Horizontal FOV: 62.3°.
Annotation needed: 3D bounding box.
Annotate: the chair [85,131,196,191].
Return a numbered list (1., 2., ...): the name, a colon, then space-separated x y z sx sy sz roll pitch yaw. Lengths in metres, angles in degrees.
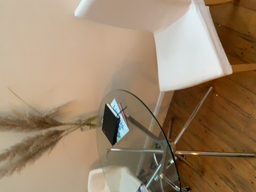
1. chair: 0.090 0.810 2.020 0.500 0.820 0.580 46 135 42

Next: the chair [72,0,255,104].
1. chair: 0.260 -0.310 1.210 0.490 0.950 0.520 -12 89 58
